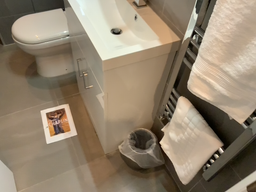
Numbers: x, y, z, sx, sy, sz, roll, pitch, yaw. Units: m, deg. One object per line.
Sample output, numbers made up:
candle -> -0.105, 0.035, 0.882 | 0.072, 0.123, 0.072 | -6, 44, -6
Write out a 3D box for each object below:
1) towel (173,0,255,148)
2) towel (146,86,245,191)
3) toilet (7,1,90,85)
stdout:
towel -> 0.300, -0.120, 0.540 | 0.110, 0.440, 0.320 | -18, 55, -19
towel -> 0.260, 0.250, 1.010 | 0.120, 0.510, 0.330 | -21, 57, -21
toilet -> -0.630, -0.440, 1.770 | 0.500, 0.460, 0.370 | -18, 55, -19
